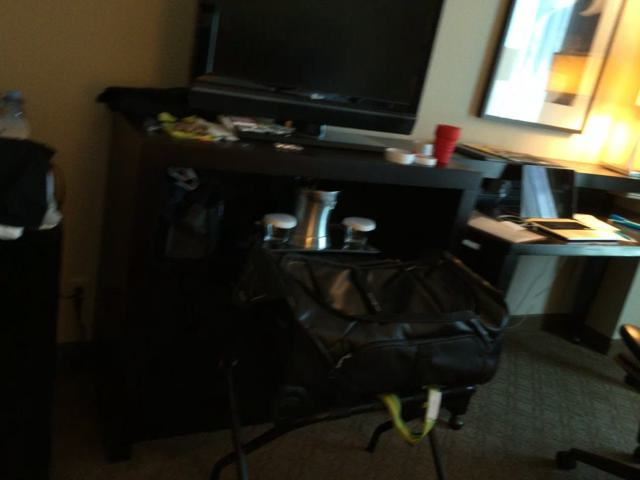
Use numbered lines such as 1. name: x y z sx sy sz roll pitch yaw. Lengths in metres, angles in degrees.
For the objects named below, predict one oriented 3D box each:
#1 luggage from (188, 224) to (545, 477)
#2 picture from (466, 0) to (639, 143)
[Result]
1. luggage: 0.090 0.240 1.510 0.700 0.370 0.520 4 18 -29
2. picture: 1.040 -0.900 2.450 0.710 0.880 0.090 4 18 -29
